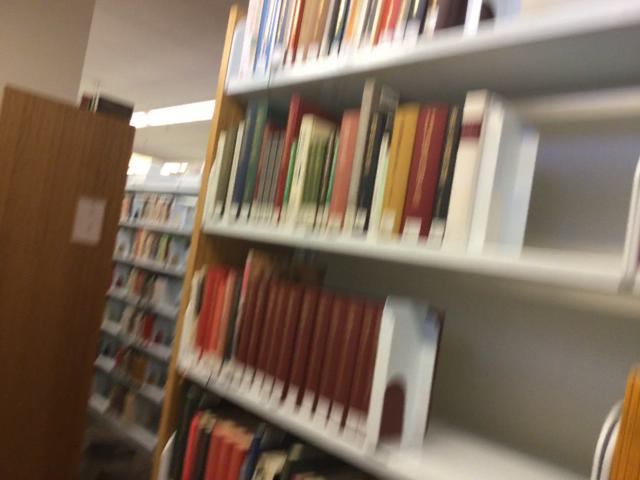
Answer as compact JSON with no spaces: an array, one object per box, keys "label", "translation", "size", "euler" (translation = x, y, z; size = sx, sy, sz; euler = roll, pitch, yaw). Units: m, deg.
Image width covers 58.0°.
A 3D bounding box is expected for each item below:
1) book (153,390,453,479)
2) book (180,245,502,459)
[{"label":"book","translation":[-0.070,0.500,1.150],"size":[0.270,0.240,0.570],"euler":[12,-3,-41]},{"label":"book","translation":[0.000,0.180,1.130],"size":[0.240,0.250,0.610],"euler":[12,-3,-41]}]
